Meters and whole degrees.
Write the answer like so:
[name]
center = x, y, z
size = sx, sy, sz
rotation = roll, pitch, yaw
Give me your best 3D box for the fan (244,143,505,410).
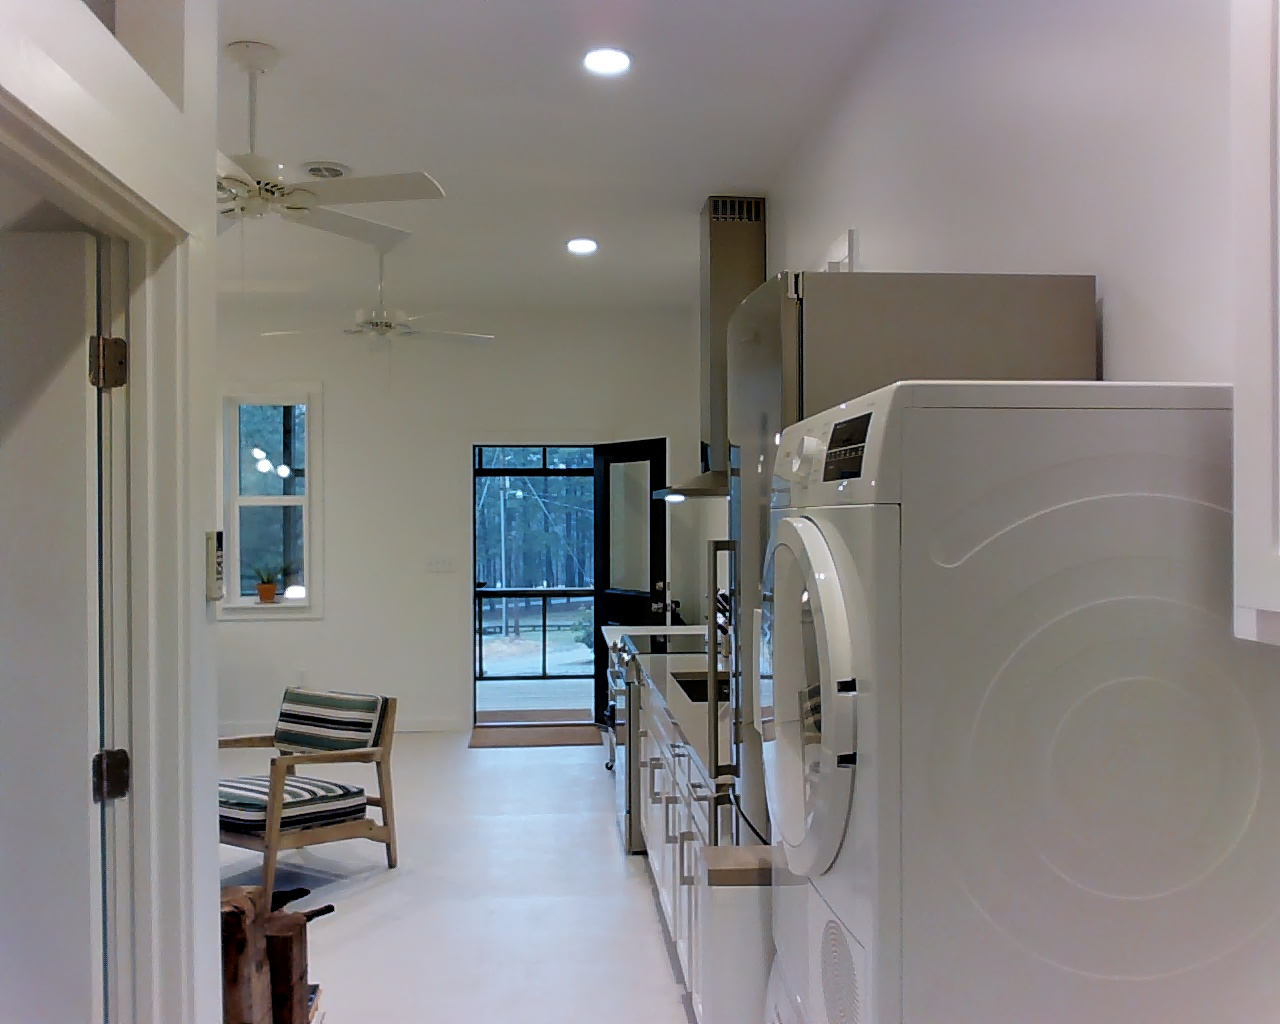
[fan]
center = -1.380, -1.260, 5.940
size = 1.190, 1.340, 0.550
rotation = 0, 45, -4
